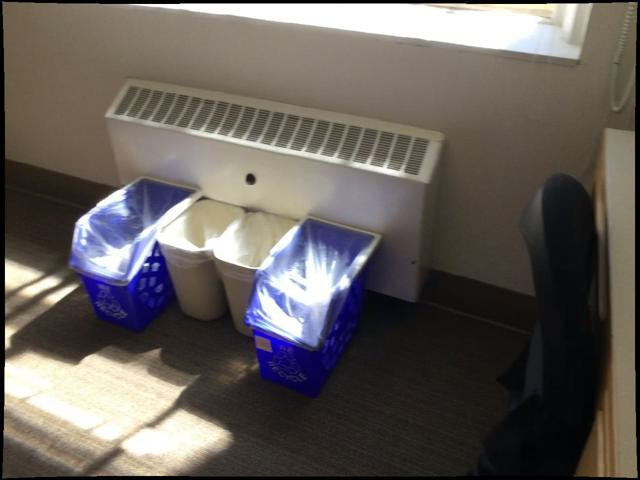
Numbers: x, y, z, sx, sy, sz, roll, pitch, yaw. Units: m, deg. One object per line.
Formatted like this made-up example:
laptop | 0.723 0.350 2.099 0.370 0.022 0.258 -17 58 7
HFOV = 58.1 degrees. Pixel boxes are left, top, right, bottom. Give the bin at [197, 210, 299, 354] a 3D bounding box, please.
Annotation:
bin | -0.219 0.130 1.870 0.190 0.331 0.280 13 38 19

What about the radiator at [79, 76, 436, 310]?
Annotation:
radiator | -0.229 -0.180 1.940 1.158 0.541 0.190 14 38 20

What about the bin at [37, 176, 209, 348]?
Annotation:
bin | -0.638 0.060 1.960 0.299 0.351 0.420 13 38 19

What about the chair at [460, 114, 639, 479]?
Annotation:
chair | 0.559 0.331 1.100 0.479 0.871 0.670 13 38 19

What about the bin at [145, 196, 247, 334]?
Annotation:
bin | -0.399 0.080 1.930 0.170 0.331 0.280 13 38 19

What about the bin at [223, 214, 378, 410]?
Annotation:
bin | -0.040 0.201 1.740 0.299 0.341 0.410 13 38 19
